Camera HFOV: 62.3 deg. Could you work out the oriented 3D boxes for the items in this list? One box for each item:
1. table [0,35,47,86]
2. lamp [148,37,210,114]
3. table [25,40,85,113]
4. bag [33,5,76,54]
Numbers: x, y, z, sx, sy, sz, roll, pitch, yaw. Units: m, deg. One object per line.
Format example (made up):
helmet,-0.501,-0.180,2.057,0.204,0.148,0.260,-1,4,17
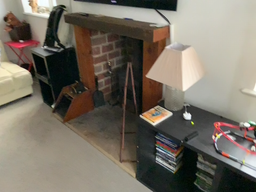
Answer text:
table,-1.730,-0.600,3.510,0.590,0.660,0.360,22,37,35
lamp,0.350,-0.160,1.520,0.300,0.430,0.260,24,39,37
table,-0.930,-0.270,2.790,0.490,0.760,0.400,-27,38,-37
bag,-0.870,-0.810,2.540,0.310,0.480,0.300,25,39,38
